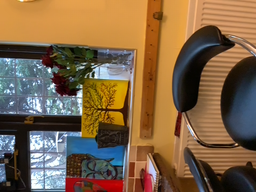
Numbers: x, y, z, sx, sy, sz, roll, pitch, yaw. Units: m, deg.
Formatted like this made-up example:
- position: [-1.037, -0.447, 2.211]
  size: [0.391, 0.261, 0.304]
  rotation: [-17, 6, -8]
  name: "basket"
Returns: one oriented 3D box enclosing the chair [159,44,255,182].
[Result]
- position: [0.670, 0.030, 0.910]
  size: [0.460, 0.940, 0.420]
  rotation: [-112, 24, -73]
  name: "chair"
